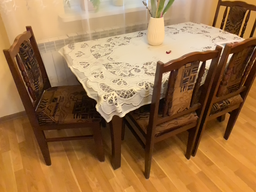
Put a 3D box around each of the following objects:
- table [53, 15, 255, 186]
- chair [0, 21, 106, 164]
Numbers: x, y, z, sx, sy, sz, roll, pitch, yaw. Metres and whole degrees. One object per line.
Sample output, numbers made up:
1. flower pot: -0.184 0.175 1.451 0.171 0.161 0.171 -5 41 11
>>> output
1. table: 0.260 -0.110 1.810 1.430 0.740 0.870 -18 40 -23
2. chair: -0.430 -0.010 1.540 0.490 0.890 0.490 -3 36 -5
